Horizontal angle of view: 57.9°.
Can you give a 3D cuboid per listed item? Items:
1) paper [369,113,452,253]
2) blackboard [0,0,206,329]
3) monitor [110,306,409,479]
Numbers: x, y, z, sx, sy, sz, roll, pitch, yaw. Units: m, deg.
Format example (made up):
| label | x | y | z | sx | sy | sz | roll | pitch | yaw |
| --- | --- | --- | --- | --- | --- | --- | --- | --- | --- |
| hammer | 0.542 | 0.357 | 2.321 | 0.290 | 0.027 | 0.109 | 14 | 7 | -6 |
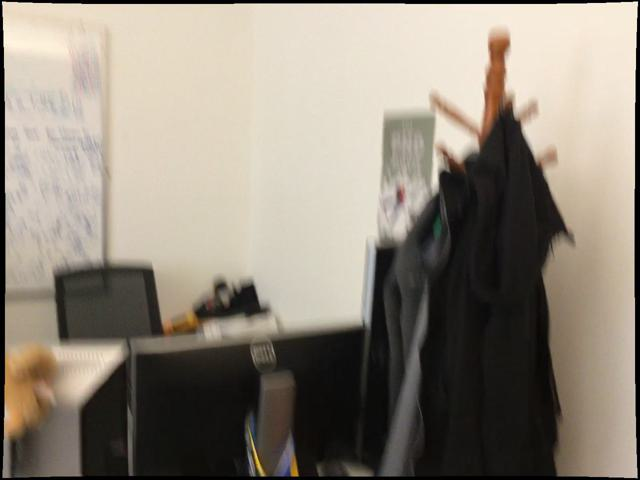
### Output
| label | x | y | z | sx | sy | sz | roll | pitch | yaw |
| --- | --- | --- | --- | --- | --- | --- | --- | --- | --- |
| paper | 0.290 | -0.200 | 1.920 | 0.060 | 0.430 | 0.320 | -3 | 12 | -28 |
| blackboard | -1.558 | -0.430 | 2.330 | 2.208 | 1.662 | 0.120 | -3 | 12 | -28 |
| monitor | -0.130 | 0.470 | 1.270 | 0.590 | 0.551 | 0.220 | -3 | 12 | -28 |
